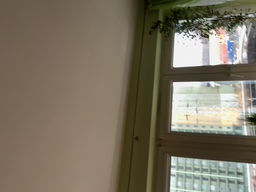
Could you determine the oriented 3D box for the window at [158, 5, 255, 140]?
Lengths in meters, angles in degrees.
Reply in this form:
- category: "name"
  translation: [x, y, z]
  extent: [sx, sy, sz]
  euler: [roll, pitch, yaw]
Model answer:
- category: "window"
  translation: [1.110, -0.320, 2.500]
  extent: [0.150, 1.390, 1.610]
  euler: [48, -134, -62]
